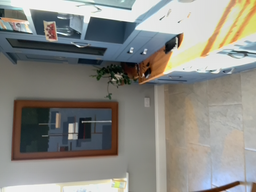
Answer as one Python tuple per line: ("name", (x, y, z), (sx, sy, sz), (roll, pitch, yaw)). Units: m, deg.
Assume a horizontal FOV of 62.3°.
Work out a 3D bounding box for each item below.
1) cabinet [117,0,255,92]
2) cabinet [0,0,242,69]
("cabinet", (0.620, -0.510, 2.360), (2.620, 0.870, 0.670), (167, 104, -72))
("cabinet", (-0.420, -0.670, 1.680), (1.880, 1.520, 0.470), (167, 104, -72))
